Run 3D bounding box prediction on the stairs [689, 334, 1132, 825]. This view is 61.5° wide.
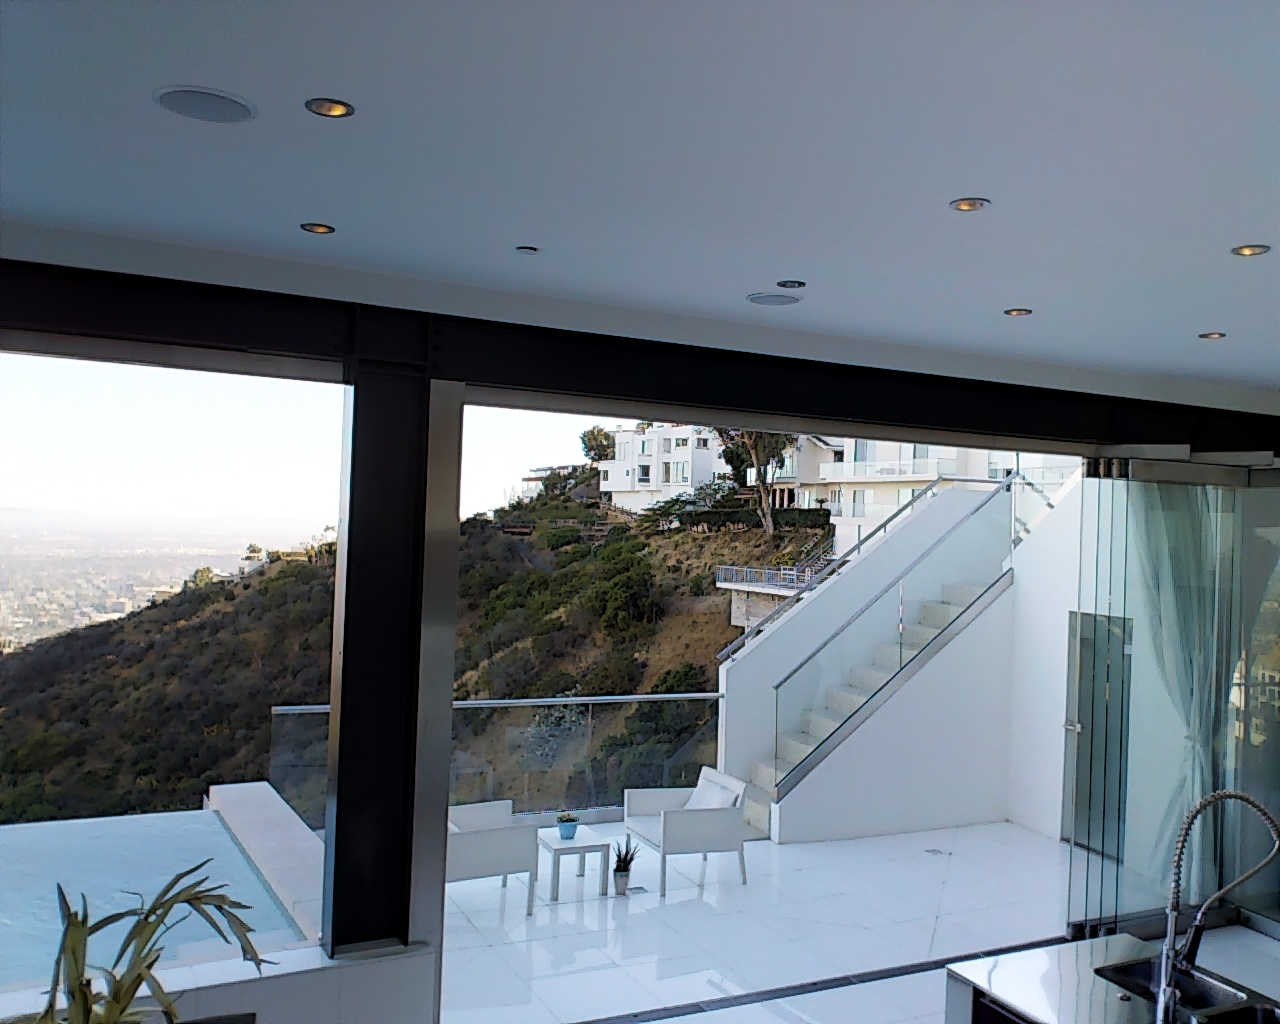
[{"bbox_3d":[2.580,0.630,10.270,3.790,4.061,1.530,2,-1,-21],"label":"stairs"}]
